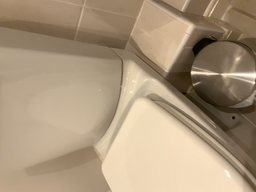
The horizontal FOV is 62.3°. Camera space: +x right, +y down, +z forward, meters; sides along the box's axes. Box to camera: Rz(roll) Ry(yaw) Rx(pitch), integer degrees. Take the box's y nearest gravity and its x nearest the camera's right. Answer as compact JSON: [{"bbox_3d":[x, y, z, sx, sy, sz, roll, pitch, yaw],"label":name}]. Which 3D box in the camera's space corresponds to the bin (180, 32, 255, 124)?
[{"bbox_3d":[0.330,-0.060,0.630,0.180,0.260,0.160,48,127,31],"label":"bin"}]
